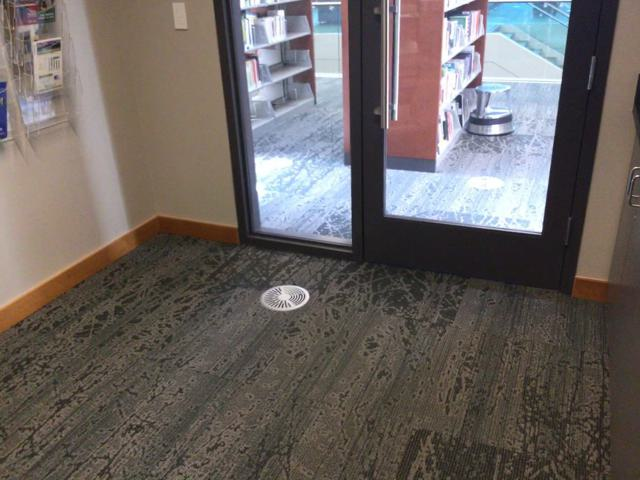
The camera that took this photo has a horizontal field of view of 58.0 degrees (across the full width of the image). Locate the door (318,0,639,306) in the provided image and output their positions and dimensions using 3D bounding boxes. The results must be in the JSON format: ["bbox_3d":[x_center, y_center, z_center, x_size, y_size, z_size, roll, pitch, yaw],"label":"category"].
[{"bbox_3d":[0.580,-0.530,2.350,1.130,1.520,0.230,7,28,21],"label":"door"}]
